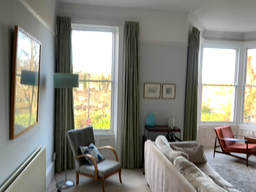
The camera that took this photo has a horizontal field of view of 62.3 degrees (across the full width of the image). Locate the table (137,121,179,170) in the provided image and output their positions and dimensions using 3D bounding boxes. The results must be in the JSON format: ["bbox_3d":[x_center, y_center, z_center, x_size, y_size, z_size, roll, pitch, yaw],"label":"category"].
[{"bbox_3d":[0.590,0.970,4.270,0.700,0.860,0.410,2,4,-8],"label":"table"}]

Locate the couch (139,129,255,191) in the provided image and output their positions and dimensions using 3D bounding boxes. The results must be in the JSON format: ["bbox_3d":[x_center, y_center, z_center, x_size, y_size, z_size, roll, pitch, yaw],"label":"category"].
[{"bbox_3d":[0.870,1.100,2.770,1.050,0.820,2.330,2,4,-7],"label":"couch"}]

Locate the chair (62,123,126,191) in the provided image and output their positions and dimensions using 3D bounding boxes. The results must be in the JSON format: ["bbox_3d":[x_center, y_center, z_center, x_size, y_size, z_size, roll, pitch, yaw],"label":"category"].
[{"bbox_3d":[-0.580,1.000,3.660,0.850,0.880,0.650,5,5,31],"label":"chair"}]
